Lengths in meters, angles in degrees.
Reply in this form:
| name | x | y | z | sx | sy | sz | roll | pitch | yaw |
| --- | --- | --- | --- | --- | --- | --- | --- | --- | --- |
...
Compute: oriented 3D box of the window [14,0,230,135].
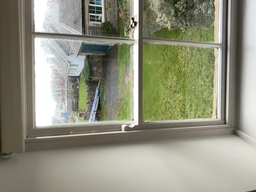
| name | x | y | z | sx | sy | sz | roll | pitch | yaw |
| --- | --- | --- | --- | --- | --- | --- | --- | --- | --- |
| window | 0.050 | -0.300 | 1.060 | 0.080 | 1.090 | 0.890 | -175 | 84 | -70 |
